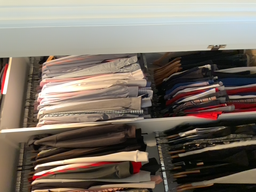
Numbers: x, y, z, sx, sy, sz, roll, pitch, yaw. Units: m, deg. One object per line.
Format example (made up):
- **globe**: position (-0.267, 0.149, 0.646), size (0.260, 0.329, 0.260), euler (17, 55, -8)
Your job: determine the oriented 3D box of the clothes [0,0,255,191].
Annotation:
- **clothes**: position (0.140, -0.110, 1.710), size (0.680, 2.010, 2.320), euler (102, 164, -62)
